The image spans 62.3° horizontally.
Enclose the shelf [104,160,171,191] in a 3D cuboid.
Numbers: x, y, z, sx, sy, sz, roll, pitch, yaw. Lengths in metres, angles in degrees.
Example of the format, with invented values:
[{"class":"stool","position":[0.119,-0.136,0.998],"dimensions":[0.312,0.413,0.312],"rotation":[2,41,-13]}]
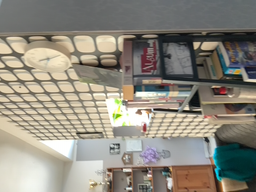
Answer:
[{"class":"shelf","position":[0.160,1.660,3.810],"dimensions":[0.370,1.140,0.900],"rotation":[91,177,-67]}]
